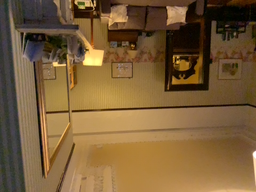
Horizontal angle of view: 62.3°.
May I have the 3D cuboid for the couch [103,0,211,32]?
[{"bbox_3d":[0.470,-1.720,4.020,1.820,0.810,0.970,-1,-170,-9],"label":"couch"}]
